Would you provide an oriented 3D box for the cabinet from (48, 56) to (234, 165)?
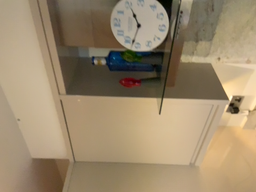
[{"bbox_3d":[0.050,0.100,1.220,0.300,0.820,0.540,-89,2,-49],"label":"cabinet"}]
